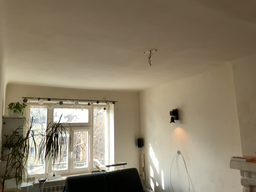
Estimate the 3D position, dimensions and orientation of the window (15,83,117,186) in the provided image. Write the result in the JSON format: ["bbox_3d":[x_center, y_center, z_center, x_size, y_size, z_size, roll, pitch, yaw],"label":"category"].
[{"bbox_3d":[-1.280,0.790,4.760,2.130,2.030,0.200,3,-9,-26],"label":"window"}]
